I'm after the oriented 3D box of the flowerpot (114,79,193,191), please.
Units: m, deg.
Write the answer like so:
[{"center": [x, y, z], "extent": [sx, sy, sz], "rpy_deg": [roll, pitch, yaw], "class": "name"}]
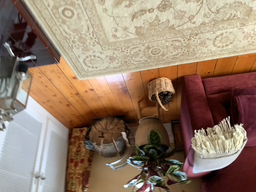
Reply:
[{"center": [0.210, 0.380, 1.900], "extent": [0.540, 0.840, 0.510], "rpy_deg": [-9, 149, 10], "class": "flowerpot"}]
